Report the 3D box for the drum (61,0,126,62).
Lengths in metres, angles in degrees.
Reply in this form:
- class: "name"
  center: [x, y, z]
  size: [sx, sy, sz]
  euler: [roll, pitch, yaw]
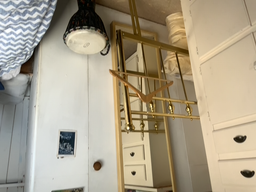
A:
- class: "drum"
  center: [-0.230, -0.530, 1.350]
  size: [0.310, 0.510, 0.260]
  euler: [6, 161, -30]
